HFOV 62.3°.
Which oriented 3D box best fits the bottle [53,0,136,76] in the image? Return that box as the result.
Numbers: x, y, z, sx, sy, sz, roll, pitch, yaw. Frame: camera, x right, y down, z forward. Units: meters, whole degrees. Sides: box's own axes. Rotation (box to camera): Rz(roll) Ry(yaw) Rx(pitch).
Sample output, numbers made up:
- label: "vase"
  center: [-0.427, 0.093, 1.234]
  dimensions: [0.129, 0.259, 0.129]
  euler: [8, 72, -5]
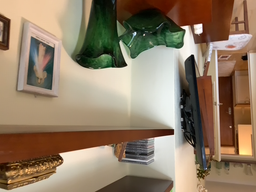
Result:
- label: "bottle"
  center: [-0.100, -0.260, 0.820]
  dimensions: [0.150, 0.290, 0.340]
  euler: [-2, 172, 22]
